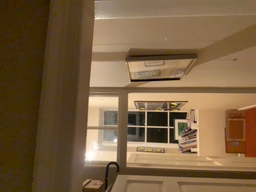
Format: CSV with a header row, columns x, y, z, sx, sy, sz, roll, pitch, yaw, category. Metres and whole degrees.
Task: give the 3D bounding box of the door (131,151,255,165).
x,y,z,sx,sy,sz,roll,pitch,yaw,category
0.960,0.740,2.550,0.710,1.820,0.030,62,-151,-81,door
